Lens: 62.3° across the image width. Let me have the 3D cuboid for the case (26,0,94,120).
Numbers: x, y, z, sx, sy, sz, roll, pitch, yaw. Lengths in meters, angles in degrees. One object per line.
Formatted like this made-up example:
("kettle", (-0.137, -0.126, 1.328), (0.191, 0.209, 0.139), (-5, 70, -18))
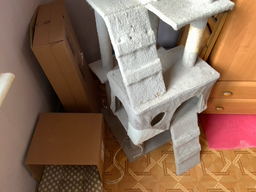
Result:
("case", (-0.380, -0.300, 1.410), (0.230, 0.600, 0.690), (-3, 50, -4))

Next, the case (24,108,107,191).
("case", (-0.320, 0.330, 1.260), (0.350, 0.330, 0.390), (0, 50, -1))
